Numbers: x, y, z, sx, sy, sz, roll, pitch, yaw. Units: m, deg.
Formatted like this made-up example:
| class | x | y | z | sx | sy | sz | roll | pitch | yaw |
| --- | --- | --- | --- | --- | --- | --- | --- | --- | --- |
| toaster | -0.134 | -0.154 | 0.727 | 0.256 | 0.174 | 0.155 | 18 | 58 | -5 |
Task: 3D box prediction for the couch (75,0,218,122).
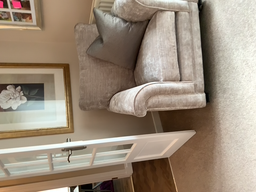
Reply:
| class | x | y | z | sx | sy | sz | roll | pitch | yaw |
| --- | --- | --- | --- | --- | --- | --- | --- | --- | --- |
| couch | 0.060 | -0.320 | 1.880 | 0.930 | 0.910 | 0.970 | 171 | 96 | -70 |
